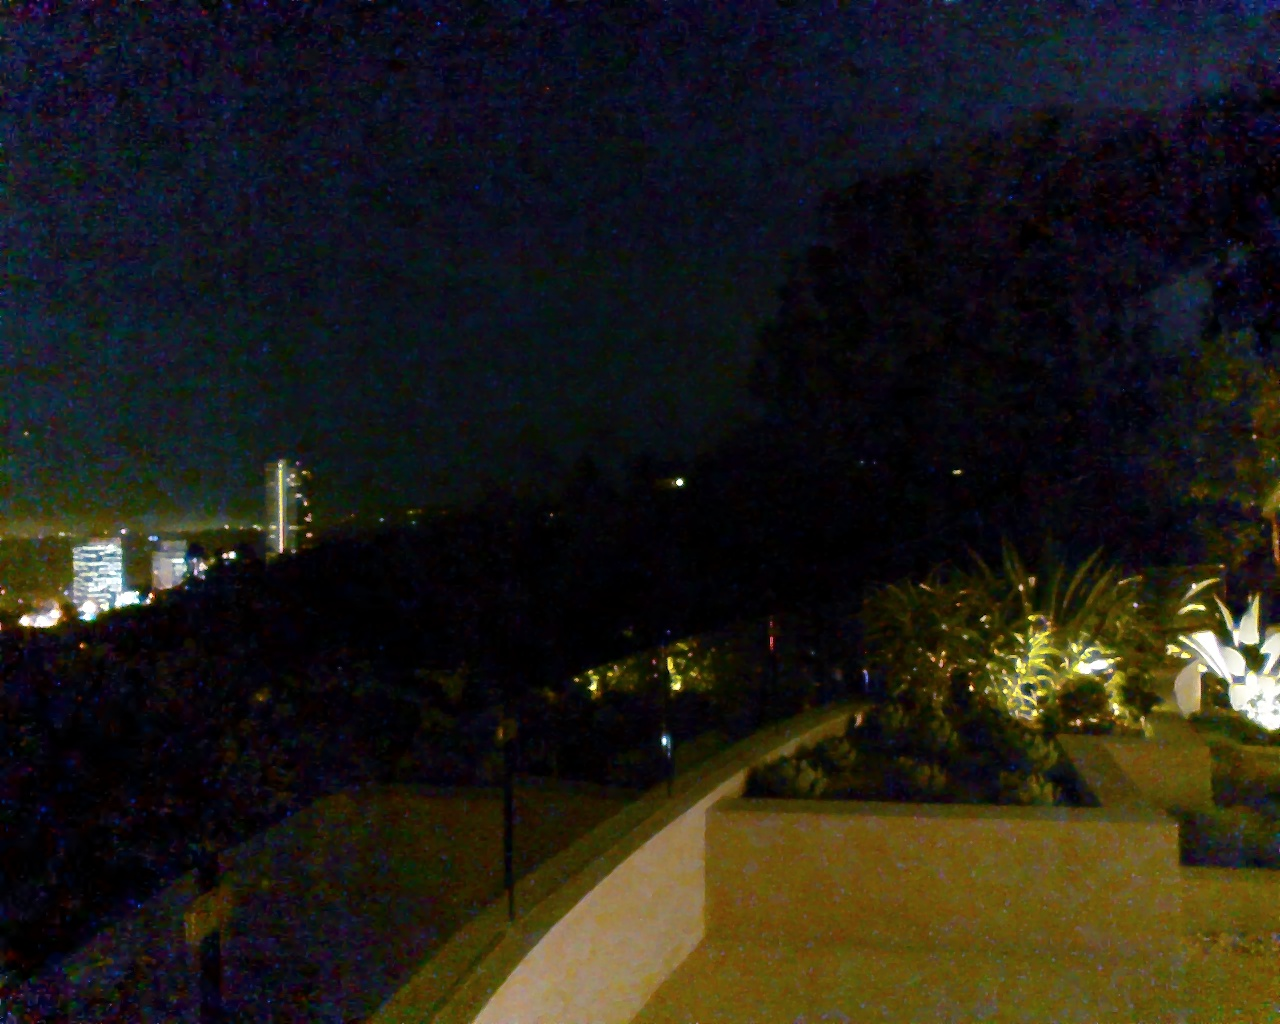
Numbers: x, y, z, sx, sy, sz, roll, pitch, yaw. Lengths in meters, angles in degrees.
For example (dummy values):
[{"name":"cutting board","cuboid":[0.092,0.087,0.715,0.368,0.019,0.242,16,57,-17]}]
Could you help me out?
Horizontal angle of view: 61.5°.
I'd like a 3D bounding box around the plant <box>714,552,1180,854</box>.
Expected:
[{"name":"plant","cuboid":[1.580,0.730,5.540,1.620,0.930,3.380,-1,-1,18]}]
